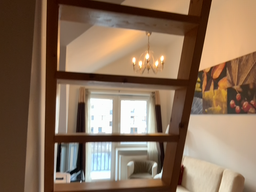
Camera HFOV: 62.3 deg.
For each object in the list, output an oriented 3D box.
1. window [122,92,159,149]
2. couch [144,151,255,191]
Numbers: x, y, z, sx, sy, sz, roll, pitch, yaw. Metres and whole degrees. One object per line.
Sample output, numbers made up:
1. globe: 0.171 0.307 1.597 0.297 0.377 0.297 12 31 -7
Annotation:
1. window: 0.370 0.690 5.980 1.020 1.540 0.110 2 -6 -10
2. couch: 1.070 1.590 3.700 1.020 0.920 1.950 2 -6 -13
